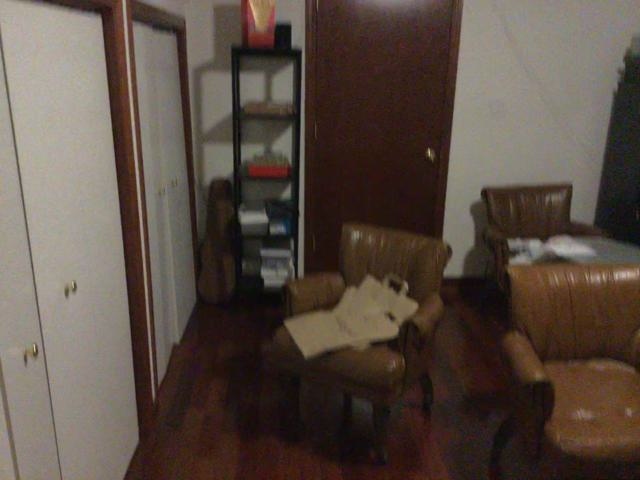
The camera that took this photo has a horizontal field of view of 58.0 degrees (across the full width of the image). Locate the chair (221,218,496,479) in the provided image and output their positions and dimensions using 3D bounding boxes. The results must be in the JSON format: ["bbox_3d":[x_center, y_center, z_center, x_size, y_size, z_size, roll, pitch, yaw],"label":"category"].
[{"bbox_3d":[0.170,0.420,2.400,0.770,0.780,0.780,13,22,40],"label":"chair"}]

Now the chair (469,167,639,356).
[{"bbox_3d":[1.350,0.080,3.230,0.790,0.830,0.750,-2,17,-1],"label":"chair"}]

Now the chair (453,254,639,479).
[{"bbox_3d":[0.910,0.540,1.940,0.720,0.790,0.690,-2,17,-2],"label":"chair"}]
